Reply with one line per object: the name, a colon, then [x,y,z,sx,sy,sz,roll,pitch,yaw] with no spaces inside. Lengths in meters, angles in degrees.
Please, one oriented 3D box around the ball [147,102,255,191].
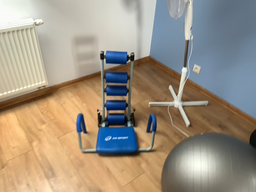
ball: [0.480,0.450,1.200,0.590,0.540,0.630,-1,38,-7]
